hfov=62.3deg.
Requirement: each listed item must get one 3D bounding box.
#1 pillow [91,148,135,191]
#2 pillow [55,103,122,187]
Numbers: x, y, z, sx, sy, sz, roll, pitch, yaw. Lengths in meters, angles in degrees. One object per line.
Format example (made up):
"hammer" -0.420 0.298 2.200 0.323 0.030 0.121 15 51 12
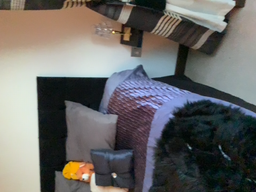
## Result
"pillow" -0.100 0.490 1.350 0.060 0.270 0.250 -21 -62 -66
"pillow" -0.280 0.320 1.440 0.120 0.410 0.430 -21 -56 -62
